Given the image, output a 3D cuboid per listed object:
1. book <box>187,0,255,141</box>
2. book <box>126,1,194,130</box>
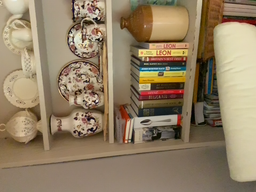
[{"bbox_3d":[0.580,-0.390,1.190,0.330,0.320,1.190,-144,52,-74],"label":"book"},{"bbox_3d":[0.160,-0.160,1.190,0.270,0.280,0.620,-144,52,-74],"label":"book"}]
